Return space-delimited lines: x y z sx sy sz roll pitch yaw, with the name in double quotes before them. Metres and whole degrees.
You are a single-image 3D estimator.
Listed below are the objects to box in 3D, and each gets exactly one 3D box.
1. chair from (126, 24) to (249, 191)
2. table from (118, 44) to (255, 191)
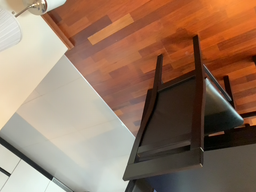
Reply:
"chair" 0.380 0.060 1.310 0.370 0.970 0.520 -20 123 29
"table" 0.580 0.310 1.680 0.790 0.690 0.990 -17 124 27
